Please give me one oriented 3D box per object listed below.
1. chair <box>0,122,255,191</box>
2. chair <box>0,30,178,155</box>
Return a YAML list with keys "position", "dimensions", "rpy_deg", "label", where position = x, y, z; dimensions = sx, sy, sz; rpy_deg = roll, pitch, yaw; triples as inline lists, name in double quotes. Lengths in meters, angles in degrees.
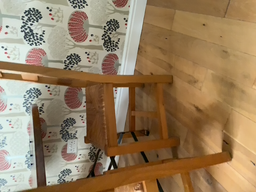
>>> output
- position: [-0.020, 0.440, 0.780]
  dimensions: [0.540, 1.010, 0.480]
  rpy_deg: [-42, 55, 57]
  label: "chair"
- position: [-0.280, 0.000, 1.260]
  dimensions: [0.430, 1.010, 0.540]
  rpy_deg: [-22, 72, 62]
  label: "chair"
